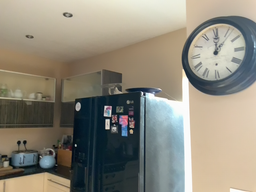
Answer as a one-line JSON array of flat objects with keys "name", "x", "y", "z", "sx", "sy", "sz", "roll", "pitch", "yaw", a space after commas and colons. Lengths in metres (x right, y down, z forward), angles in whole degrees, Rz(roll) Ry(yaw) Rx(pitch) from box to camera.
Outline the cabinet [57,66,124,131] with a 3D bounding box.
[{"name": "cabinet", "x": -0.530, "y": 0.070, "z": 2.860, "sx": 0.930, "sy": 0.740, "sz": 0.380, "roll": -5, "pitch": -8, "yaw": 41}]

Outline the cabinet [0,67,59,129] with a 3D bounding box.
[{"name": "cabinet", "x": -1.460, "y": 0.060, "z": 2.800, "sx": 0.350, "sy": 0.730, "sz": 0.960, "roll": -5, "pitch": -9, "yaw": 42}]

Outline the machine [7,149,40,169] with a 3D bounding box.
[{"name": "machine", "x": -1.380, "y": 0.820, "z": 2.800, "sx": 0.280, "sy": 0.190, "sz": 0.310, "roll": -6, "pitch": -9, "yaw": 43}]
